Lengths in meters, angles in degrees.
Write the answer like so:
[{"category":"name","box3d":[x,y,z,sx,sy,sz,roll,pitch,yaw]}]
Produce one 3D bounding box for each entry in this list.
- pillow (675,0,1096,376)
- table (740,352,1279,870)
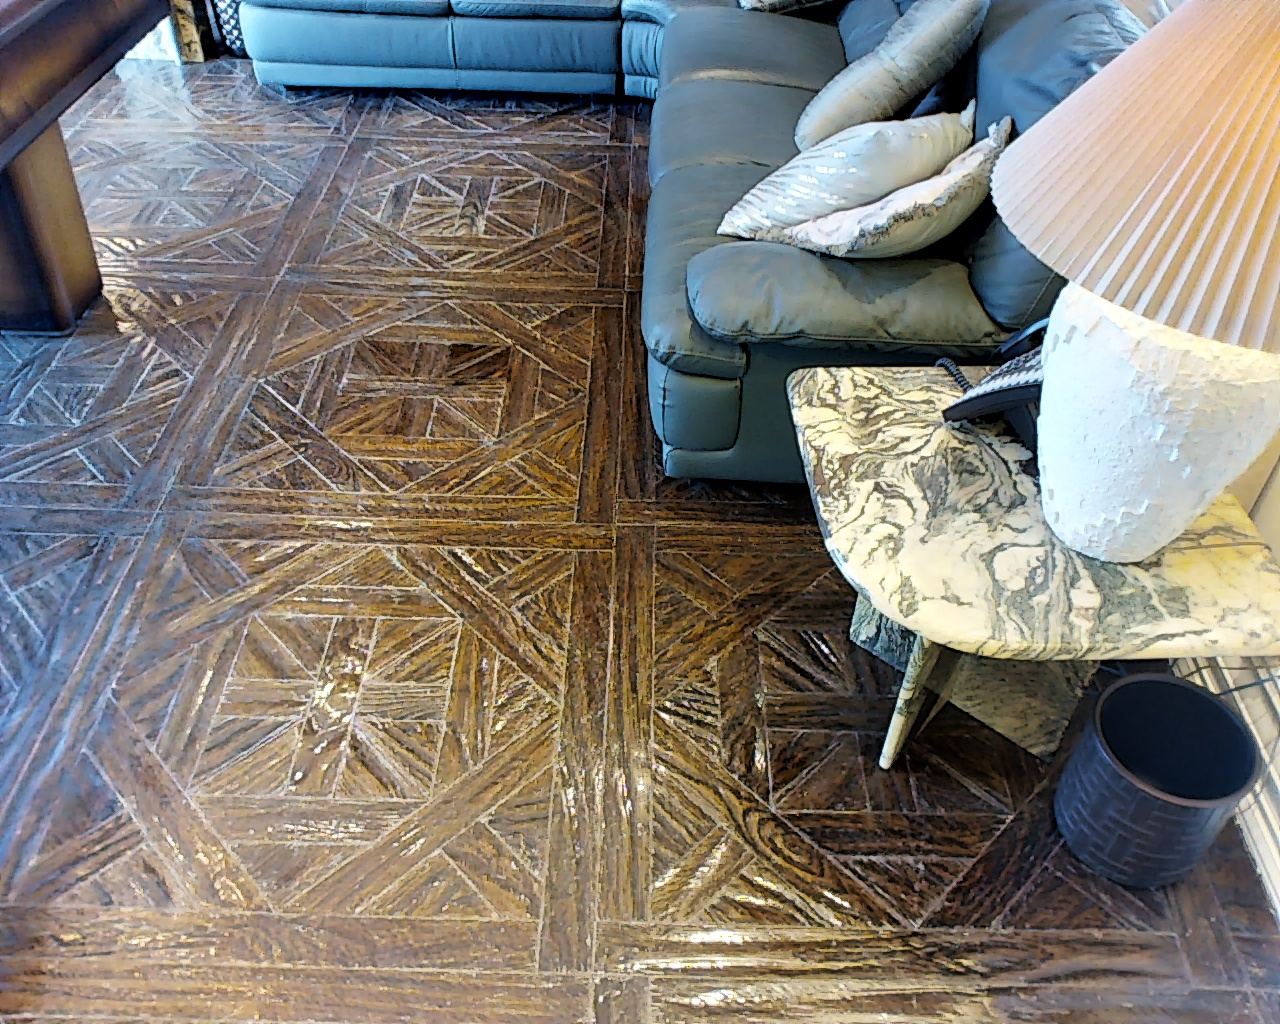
[{"category":"pillow","box3d":[0.390,-0.760,2.130,0.600,0.500,0.940,2,42,-1]},{"category":"table","box3d":[0.530,0.140,1.650,0.670,0.490,0.610,2,42,-1]}]
